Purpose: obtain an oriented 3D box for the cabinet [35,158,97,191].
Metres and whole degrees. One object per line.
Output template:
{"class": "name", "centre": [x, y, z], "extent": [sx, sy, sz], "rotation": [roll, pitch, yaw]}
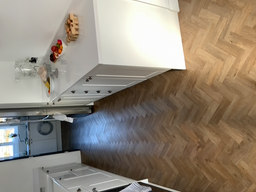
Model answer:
{"class": "cabinet", "centre": [-1.230, 1.670, 4.120], "extent": [0.980, 0.920, 0.690], "rotation": [-18, 75, 57]}
